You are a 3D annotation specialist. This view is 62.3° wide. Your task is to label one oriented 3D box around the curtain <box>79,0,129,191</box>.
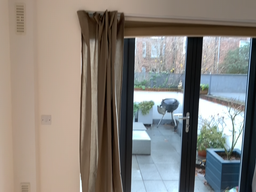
[{"bbox_3d":[-0.240,0.220,2.050,0.430,2.130,0.150,1,7,-5],"label":"curtain"}]
